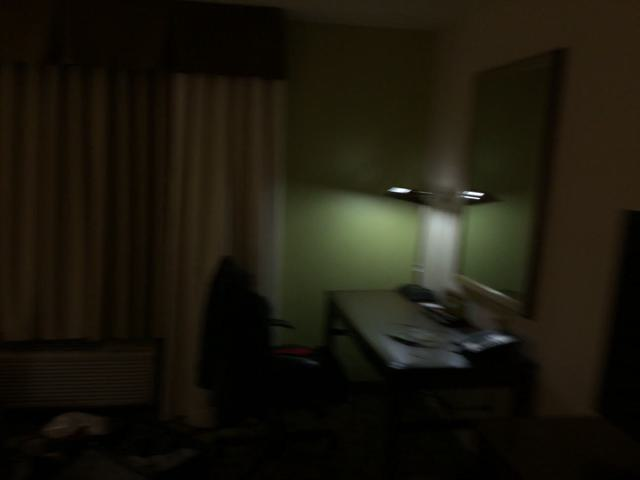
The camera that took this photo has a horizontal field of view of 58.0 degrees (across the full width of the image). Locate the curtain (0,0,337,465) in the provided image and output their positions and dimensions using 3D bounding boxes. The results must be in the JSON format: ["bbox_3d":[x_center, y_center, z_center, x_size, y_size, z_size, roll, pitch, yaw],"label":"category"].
[{"bbox_3d":[-1.230,-0.140,2.970,2.410,2.310,0.720,1,8,-15],"label":"curtain"}]
